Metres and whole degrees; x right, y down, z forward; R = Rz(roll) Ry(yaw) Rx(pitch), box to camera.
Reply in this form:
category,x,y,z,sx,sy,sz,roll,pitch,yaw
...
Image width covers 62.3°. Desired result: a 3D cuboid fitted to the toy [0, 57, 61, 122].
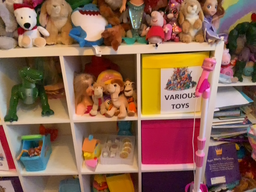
category,x,y,z,sx,sy,sz,roll,pitch,yaw
toy,-0.540,-0.050,1.190,0.210,0.260,0.300,-2,24,-2

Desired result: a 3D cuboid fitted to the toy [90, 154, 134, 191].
category,x,y,z,sx,sy,sz,roll,pitch,yaw
toy,-0.100,0.590,1.490,0.270,0.250,0.240,-1,24,0

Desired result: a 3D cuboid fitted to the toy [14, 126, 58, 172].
category,x,y,z,sx,sy,sz,roll,pitch,yaw
toy,-0.550,0.320,1.300,0.150,0.170,0.220,-2,24,-1

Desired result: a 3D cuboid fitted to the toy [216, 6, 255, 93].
category,x,y,z,sx,sy,sz,roll,pitch,yaw
toy,0.760,-0.280,1.260,0.330,0.470,0.200,-1,24,0
